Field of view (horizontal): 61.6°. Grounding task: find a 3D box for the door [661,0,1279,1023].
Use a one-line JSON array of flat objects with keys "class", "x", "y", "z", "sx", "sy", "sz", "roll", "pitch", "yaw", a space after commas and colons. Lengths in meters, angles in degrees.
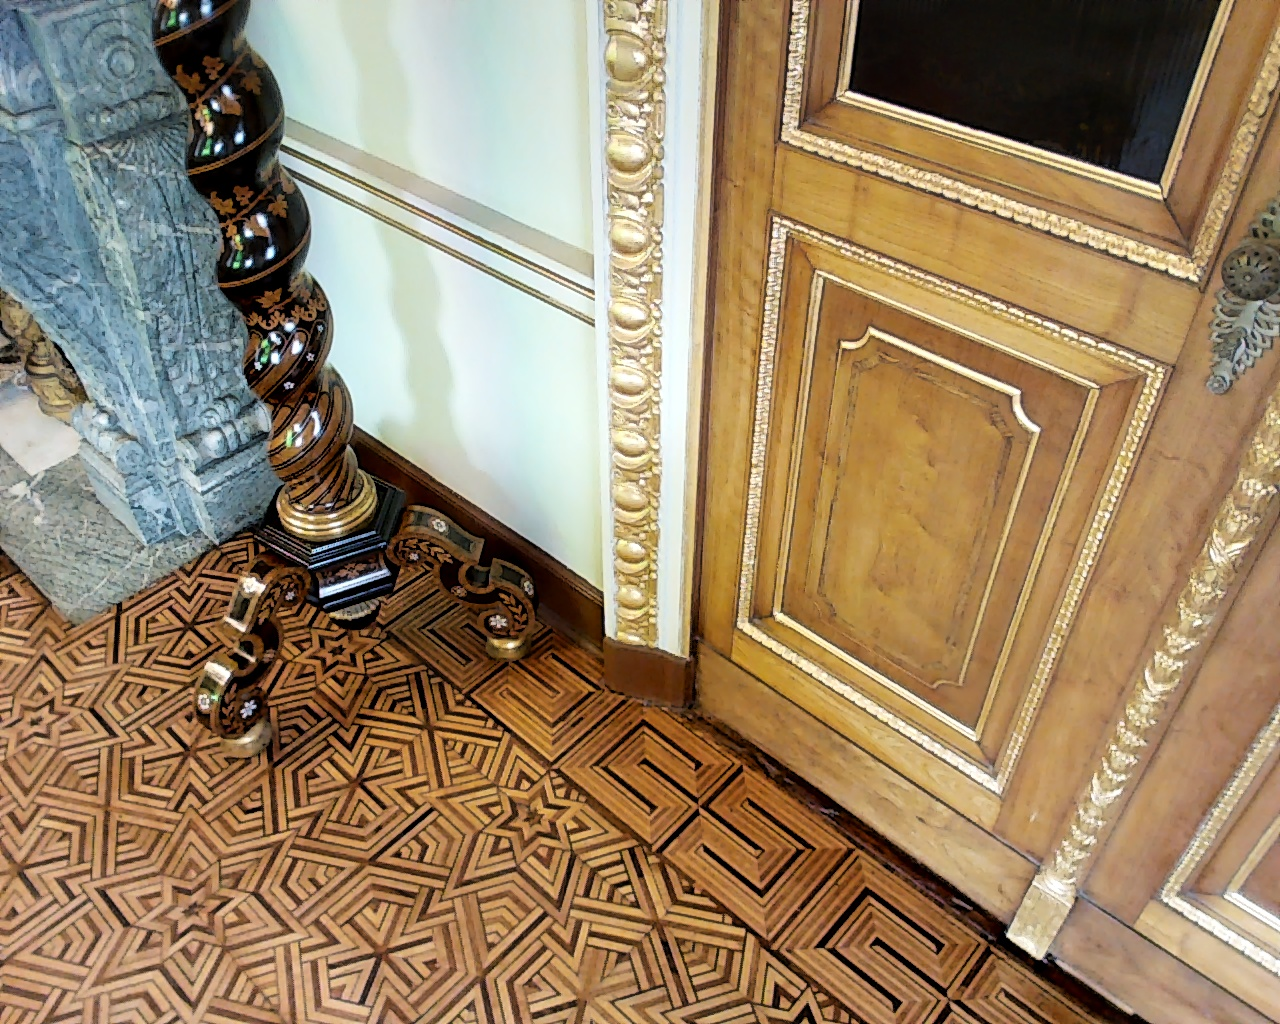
[{"class": "door", "x": 0.640, "y": -0.530, "z": 0.620, "sx": 1.530, "sy": 3.451, "sz": 0.140, "roll": 31, "pitch": 51, "yaw": 30}]
